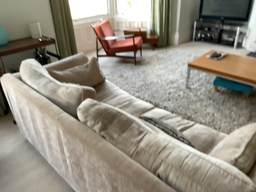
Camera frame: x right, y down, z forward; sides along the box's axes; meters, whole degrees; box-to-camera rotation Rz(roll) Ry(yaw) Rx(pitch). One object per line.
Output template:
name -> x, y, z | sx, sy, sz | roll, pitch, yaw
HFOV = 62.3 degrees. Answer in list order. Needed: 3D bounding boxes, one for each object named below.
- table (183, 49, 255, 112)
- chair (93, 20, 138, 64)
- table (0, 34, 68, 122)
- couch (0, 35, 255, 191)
table -> 1.490, -0.270, 2.980 | 1.130, 0.390, 0.770 | 24, 39, 36
chair -> -0.210, -1.090, 4.190 | 0.740, 0.680, 0.600 | 5, 31, 10
table -> -1.220, -0.250, 2.620 | 0.690, 0.820, 0.410 | -28, 39, -37
couch -> -0.080, 0.210, 1.790 | 2.320, 0.840, 1.070 | 26, 40, 38
